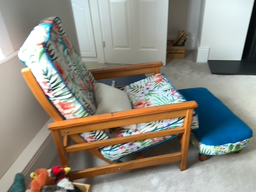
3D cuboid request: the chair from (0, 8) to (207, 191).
[{"bbox_3d":[-0.130,-0.010,1.360,0.900,0.880,0.620,-7,32,-7],"label":"chair"}]
